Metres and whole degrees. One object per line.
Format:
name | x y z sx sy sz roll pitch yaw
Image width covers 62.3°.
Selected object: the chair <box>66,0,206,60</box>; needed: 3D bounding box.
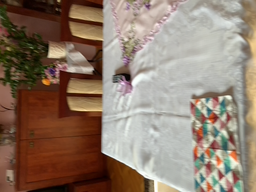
chair | 0.070 -0.550 1.630 0.530 0.930 0.360 -1 87 59
